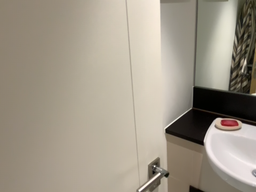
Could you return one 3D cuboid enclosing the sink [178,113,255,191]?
[{"bbox_3d":[0.590,0.330,0.980,0.540,0.220,0.470,14,27,39],"label":"sink"}]
